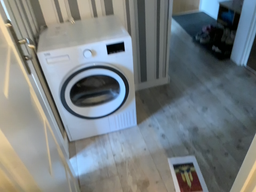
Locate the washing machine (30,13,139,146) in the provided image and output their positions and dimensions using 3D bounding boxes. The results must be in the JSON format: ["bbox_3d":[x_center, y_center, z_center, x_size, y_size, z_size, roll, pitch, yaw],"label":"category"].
[{"bbox_3d":[-0.300,-0.130,1.760,0.630,0.840,0.540,-11,40,-7],"label":"washing machine"}]

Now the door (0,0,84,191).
[{"bbox_3d":[-0.340,0.080,0.700,0.090,2.100,0.760,-17,41,-14],"label":"door"}]
